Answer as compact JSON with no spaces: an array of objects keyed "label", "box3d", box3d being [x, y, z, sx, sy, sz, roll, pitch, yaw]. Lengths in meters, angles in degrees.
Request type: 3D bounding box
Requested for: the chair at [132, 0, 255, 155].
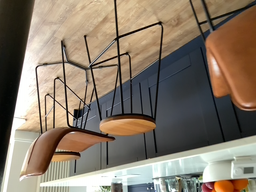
[{"label":"chair","box3d":[0.470,-0.300,0.870,0.640,0.920,0.610,17,148,-38]}]
